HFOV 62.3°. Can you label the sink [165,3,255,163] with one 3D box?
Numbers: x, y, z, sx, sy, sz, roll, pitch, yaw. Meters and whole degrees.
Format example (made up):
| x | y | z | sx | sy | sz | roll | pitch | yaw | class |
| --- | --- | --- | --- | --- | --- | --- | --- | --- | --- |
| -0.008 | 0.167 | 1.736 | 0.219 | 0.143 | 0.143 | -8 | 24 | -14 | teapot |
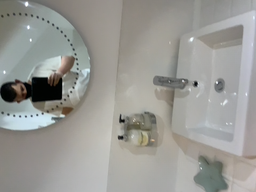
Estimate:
| x | y | z | sx | sy | sz | roll | pitch | yaw | class |
| --- | --- | --- | --- | --- | --- | --- | --- | --- | --- |
| 0.370 | -0.050 | 0.930 | 0.450 | 0.140 | 0.530 | -171 | 86 | -66 | sink |
